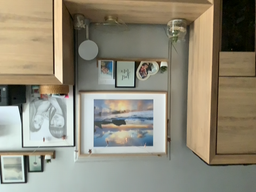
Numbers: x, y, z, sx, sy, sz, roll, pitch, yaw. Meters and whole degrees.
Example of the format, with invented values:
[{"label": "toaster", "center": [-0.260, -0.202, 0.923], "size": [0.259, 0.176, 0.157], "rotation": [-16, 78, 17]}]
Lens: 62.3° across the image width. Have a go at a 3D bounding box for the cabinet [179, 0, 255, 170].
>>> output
[{"label": "cabinet", "center": [0.920, -0.510, 1.550], "size": [0.890, 1.910, 0.530], "rotation": [1, -177, -5]}]
